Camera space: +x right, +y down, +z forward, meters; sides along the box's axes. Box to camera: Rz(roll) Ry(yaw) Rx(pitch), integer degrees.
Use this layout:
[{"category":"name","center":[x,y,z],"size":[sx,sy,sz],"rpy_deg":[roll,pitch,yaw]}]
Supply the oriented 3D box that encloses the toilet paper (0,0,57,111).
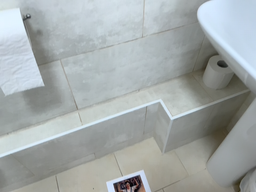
[{"category":"toilet paper","center":[-0.310,-0.100,0.590],"size":[0.130,0.260,0.130],"rpy_deg":[-19,55,-14]}]
